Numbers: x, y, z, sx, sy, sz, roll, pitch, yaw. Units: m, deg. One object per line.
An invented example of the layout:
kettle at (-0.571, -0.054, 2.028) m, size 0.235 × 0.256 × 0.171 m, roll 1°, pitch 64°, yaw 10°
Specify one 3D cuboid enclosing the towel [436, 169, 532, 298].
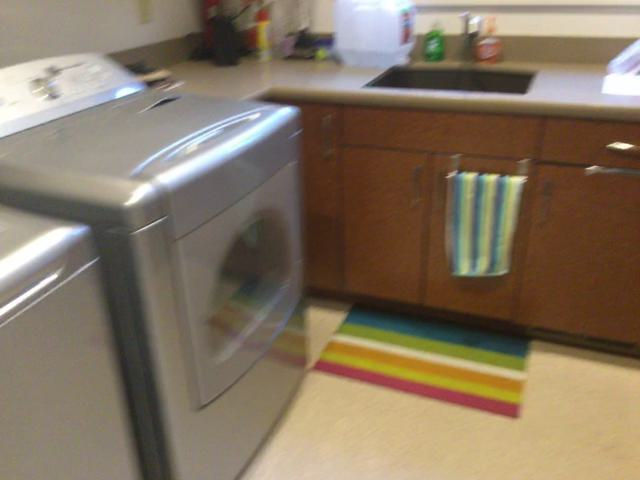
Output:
towel at (0.530, -0.020, 1.900) m, size 0.260 × 0.400 × 0.070 m, roll 9°, pitch 28°, yaw 20°
